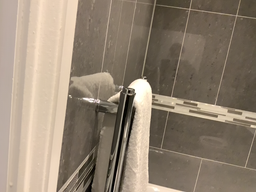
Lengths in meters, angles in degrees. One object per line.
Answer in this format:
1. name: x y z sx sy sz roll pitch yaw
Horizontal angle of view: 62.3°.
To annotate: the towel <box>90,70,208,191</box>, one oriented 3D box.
1. towel: 0.020 0.330 0.680 0.200 0.780 0.380 12 11 7
